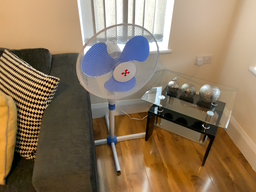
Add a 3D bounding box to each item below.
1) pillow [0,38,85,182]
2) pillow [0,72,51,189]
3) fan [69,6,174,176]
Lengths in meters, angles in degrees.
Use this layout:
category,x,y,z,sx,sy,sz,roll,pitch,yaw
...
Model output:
category,x,y,z,sx,sy,sz,roll,pitch,yaw
pillow,-0.590,0.070,1.120,0.490,0.520,0.230,50,22,13
pillow,-0.680,0.150,1.030,0.480,0.400,0.180,44,22,12
fan,-0.060,0.020,1.350,0.420,1.010,0.350,-12,41,-17
